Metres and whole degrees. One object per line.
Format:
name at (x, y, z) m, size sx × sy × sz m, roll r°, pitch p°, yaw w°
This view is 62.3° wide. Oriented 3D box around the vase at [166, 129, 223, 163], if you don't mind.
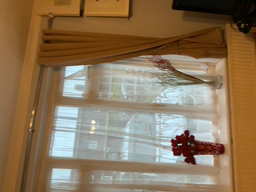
vase at (0.640, 0.500, 2.100) m, size 0.170 × 0.500 × 0.280 m, roll 104°, pitch 169°, yaw -72°
